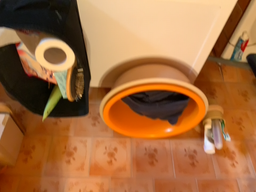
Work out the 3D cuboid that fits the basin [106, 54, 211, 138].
[{"bbox_3d":[0.070,0.020,0.720,0.280,0.110,0.310,3,144,-4],"label":"basin"}]
